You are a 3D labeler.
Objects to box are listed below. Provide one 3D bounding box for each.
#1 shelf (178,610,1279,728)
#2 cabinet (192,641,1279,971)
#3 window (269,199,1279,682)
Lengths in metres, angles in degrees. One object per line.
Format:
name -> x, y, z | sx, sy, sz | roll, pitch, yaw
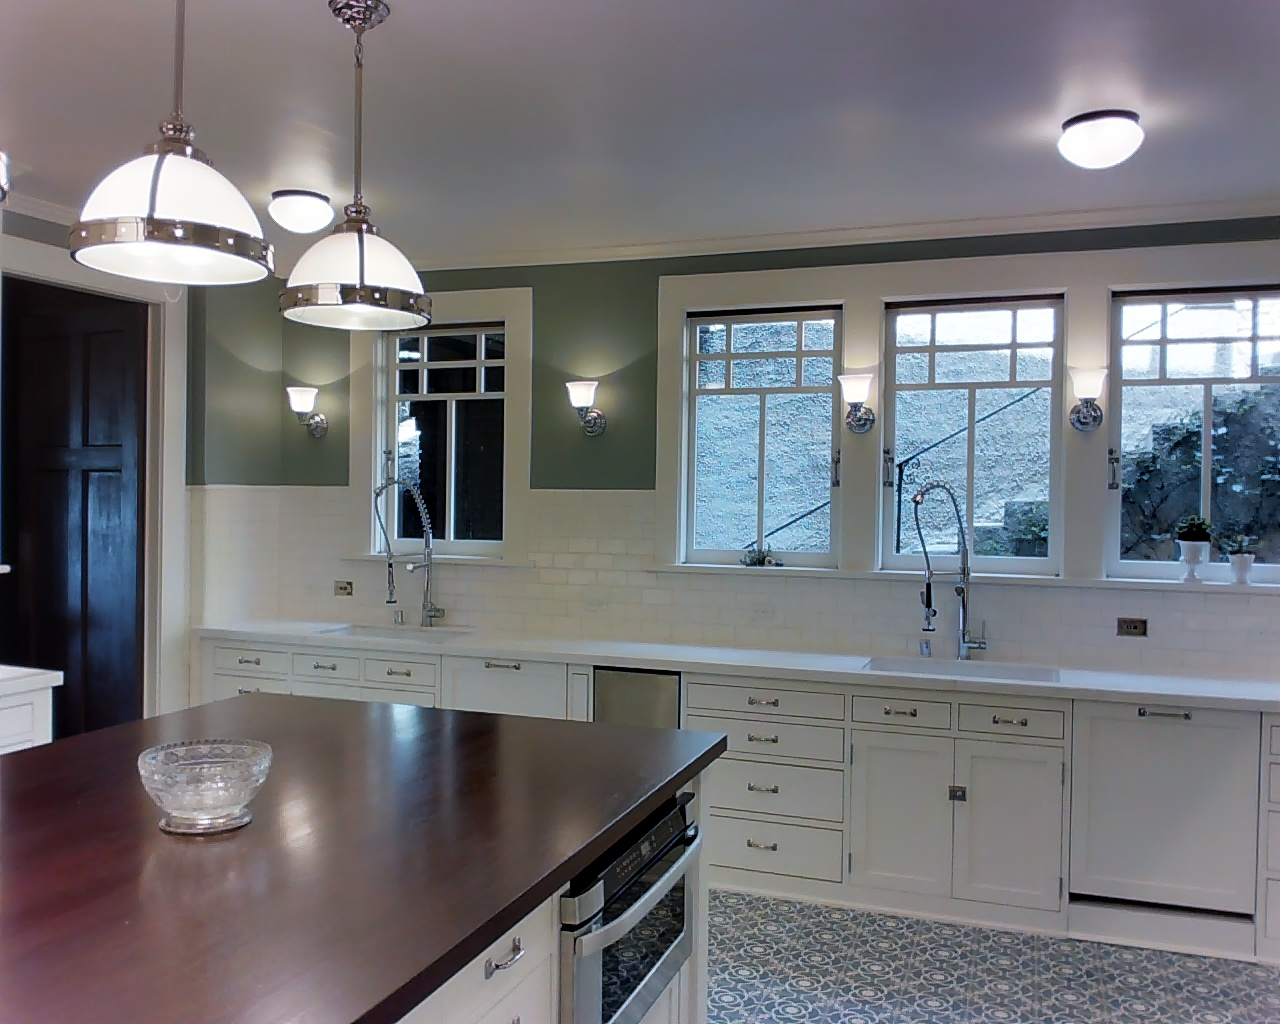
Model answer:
shelf -> 0.710, 0.640, 4.480 | 6.039, 0.100, 0.630 | 1, 1, 20
cabinet -> 0.650, 1.100, 4.200 | 5.929, 0.820, 0.070 | 1, 1, 20
window -> 0.570, -0.310, 4.820 | 5.269, 1.820, 0.160 | 1, 1, 20
